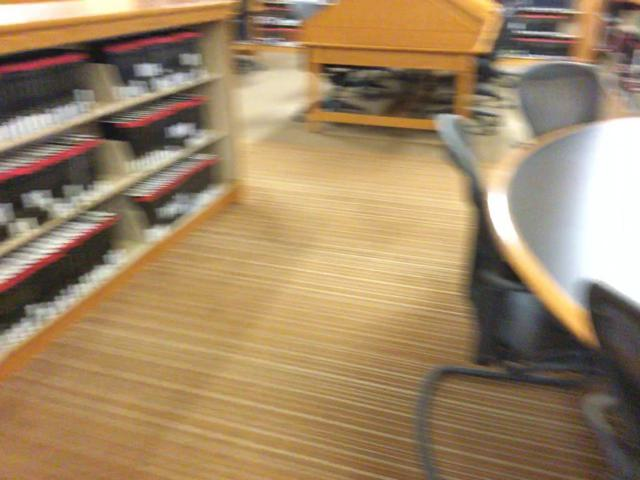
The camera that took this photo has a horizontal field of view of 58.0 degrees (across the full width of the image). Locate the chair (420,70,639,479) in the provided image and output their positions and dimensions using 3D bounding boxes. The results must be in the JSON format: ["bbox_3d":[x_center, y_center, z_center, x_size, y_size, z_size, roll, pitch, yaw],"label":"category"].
[{"bbox_3d":[0.620,0.110,1.590,0.600,0.930,0.630,-4,29,9],"label":"chair"}]
